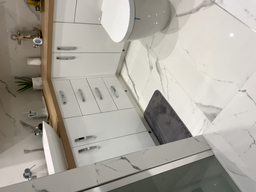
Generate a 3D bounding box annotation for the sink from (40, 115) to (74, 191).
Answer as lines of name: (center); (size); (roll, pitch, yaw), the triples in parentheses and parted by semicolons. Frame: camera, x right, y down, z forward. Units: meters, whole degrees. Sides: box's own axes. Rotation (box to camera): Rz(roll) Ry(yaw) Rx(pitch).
sink: (-0.580, 0.510, 1.660); (0.600, 0.110, 0.400); (58, 143, 37)
